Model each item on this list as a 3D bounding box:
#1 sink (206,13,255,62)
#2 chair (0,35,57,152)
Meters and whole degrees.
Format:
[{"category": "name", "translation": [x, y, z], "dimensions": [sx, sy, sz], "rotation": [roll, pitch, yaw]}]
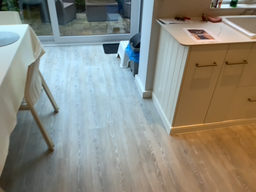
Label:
[{"category": "sink", "translation": [1.130, -0.560, 1.930], "dimensions": [0.550, 0.220, 0.560], "rotation": [-6, 37, -11]}, {"category": "chair", "translation": [-0.940, -0.020, 1.760], "dimensions": [0.530, 0.770, 0.540], "rotation": [-5, 37, -11]}]
